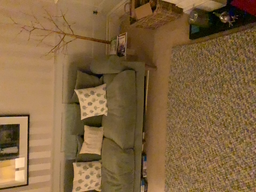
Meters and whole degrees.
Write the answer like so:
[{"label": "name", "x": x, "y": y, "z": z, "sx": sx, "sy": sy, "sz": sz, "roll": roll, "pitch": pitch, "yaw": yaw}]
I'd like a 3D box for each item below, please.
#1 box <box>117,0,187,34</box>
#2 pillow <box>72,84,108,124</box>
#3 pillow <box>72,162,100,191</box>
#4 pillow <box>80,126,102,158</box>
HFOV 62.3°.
[{"label": "box", "x": 0.230, "y": -1.070, "z": 2.390, "sx": 0.810, "sy": 0.390, "sz": 0.470, "roll": 0, "pitch": 90, "yaw": 61}, {"label": "pillow", "x": -0.490, "y": 0.100, "z": 2.800, "sx": 0.190, "sy": 0.440, "sz": 0.510, "roll": -128, "pitch": 37, "yaw": -86}, {"label": "pillow", "x": -0.570, "y": 1.150, "z": 2.910, "sx": 0.130, "sy": 0.370, "sz": 0.440, "roll": -162, "pitch": 72, "yaw": -79}, {"label": "pillow", "x": -0.500, "y": 0.620, "z": 2.890, "sx": 0.160, "sy": 0.280, "sz": 0.390, "roll": -121, "pitch": 30, "yaw": -80}]
